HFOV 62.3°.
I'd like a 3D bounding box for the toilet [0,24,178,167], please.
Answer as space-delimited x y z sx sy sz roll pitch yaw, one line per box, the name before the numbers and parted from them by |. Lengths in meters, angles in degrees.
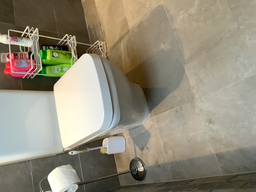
toilet | -0.290 0.060 1.120 0.640 0.810 0.400 -31 68 45
